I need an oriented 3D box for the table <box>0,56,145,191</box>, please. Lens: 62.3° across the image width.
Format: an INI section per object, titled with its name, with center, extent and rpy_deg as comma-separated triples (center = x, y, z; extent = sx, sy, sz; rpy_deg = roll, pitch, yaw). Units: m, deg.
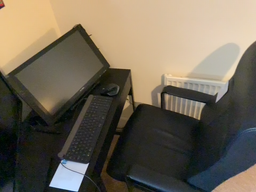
[table]
center = -0.310, 0.380, 1.450
extent = 0.590, 0.770, 1.090
rpy_deg = 7, 46, 15
